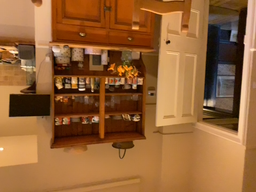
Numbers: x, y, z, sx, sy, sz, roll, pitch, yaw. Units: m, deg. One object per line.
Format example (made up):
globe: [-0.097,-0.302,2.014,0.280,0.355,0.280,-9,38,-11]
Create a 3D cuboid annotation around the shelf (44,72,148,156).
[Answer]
shelf: [-0.460,0.220,3.140,1.460,1.080,0.360,0,-173,-22]
